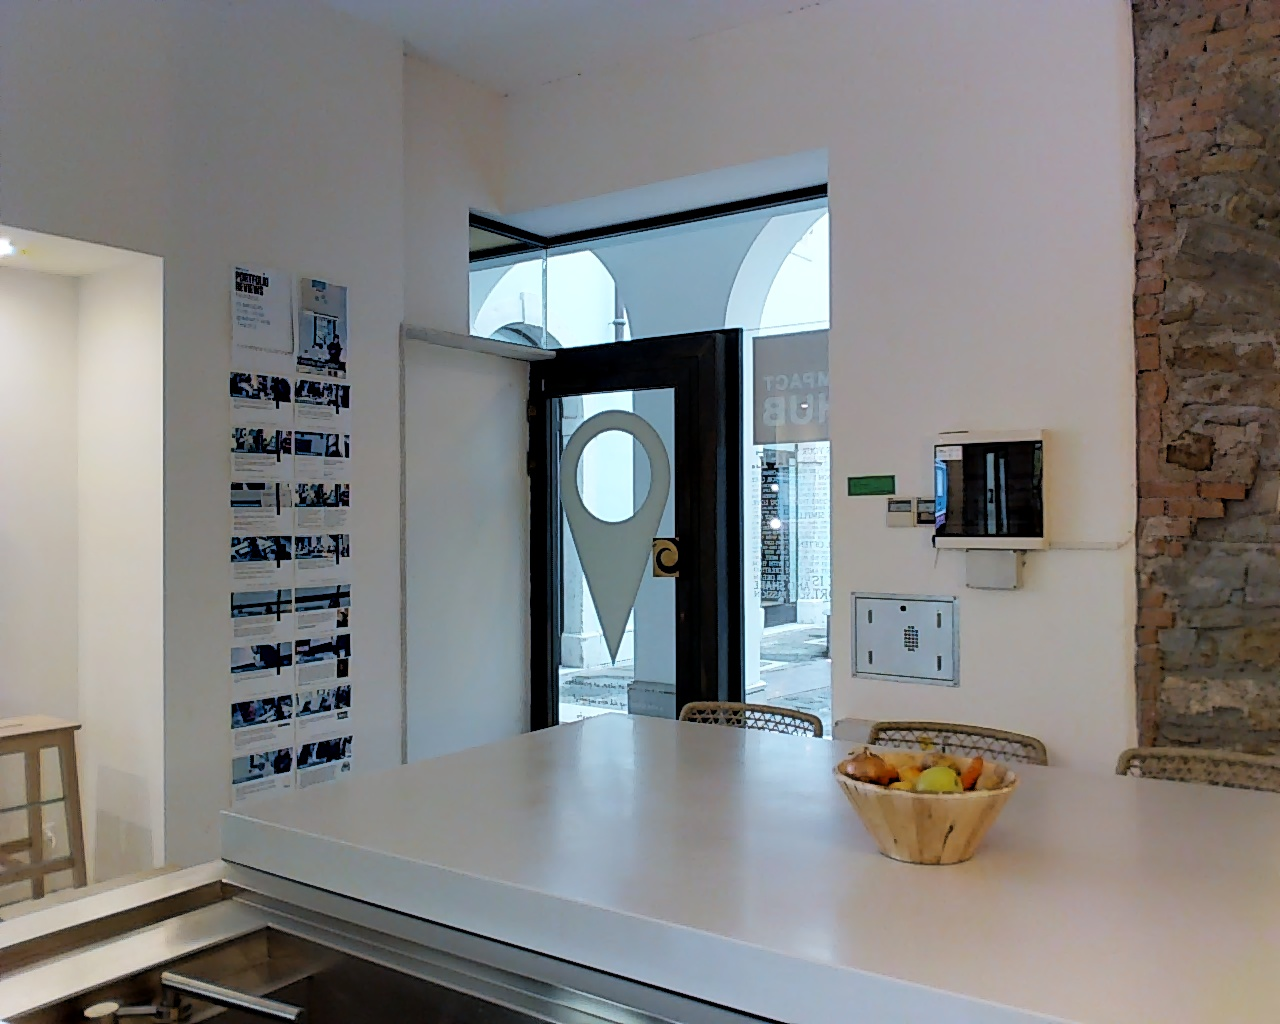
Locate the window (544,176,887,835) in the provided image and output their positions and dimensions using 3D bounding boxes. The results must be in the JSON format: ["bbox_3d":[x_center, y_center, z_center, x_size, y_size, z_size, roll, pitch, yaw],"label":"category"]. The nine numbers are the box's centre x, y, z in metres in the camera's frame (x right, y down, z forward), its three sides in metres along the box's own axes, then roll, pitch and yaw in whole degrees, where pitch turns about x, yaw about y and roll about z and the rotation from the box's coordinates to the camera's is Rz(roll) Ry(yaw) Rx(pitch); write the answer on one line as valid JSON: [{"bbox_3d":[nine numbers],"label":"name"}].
[{"bbox_3d":[0.310,-0.030,5.590,2.000,3.041,0.120,0,0,35],"label":"window"}]

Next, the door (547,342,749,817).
[{"bbox_3d":[0.020,0.330,5.650,1.130,2.311,0.220,0,0,34],"label":"door"}]
